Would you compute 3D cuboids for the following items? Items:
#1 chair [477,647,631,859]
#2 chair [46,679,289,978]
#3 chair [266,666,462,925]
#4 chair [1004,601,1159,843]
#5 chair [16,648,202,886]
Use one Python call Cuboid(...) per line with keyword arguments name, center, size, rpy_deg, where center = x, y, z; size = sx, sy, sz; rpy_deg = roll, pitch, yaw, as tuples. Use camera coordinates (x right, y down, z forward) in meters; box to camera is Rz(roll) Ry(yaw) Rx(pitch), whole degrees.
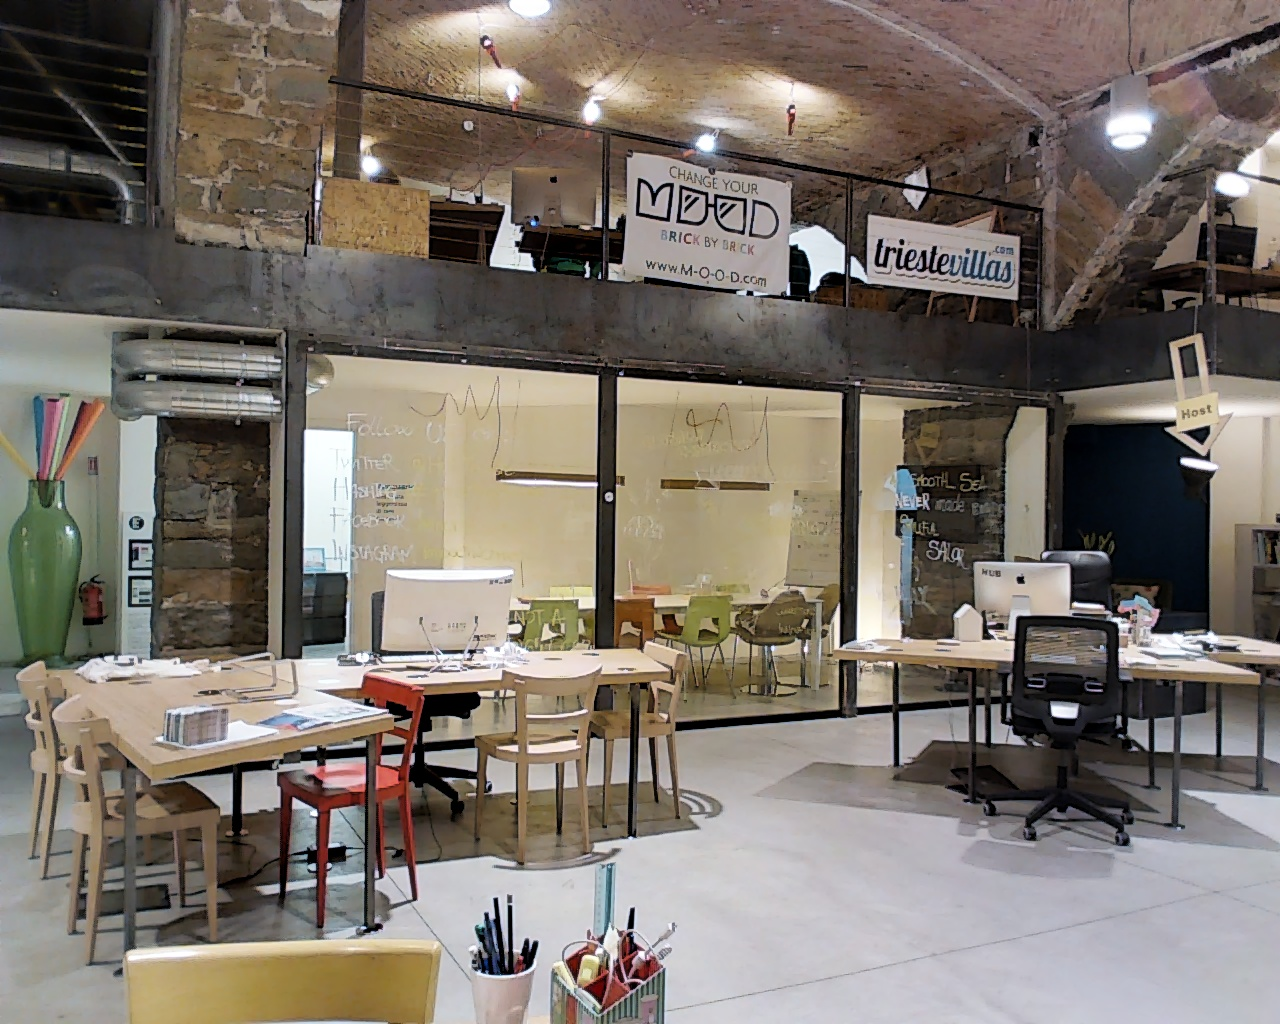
Cuboid(name="chair", center=(-0.390, 1.030, 4.750), size=(0.490, 0.780, 0.550), rpy_deg=(1, 0, -26))
Cuboid(name="chair", center=(-1.630, 1.030, 3.700), size=(0.630, 0.780, 0.590), rpy_deg=(1, 0, -37))
Cuboid(name="chair", center=(-1.050, 1.030, 4.080), size=(0.540, 0.790, 0.510), rpy_deg=(1, 0, -39))
Cuboid(name="chair", center=(2.109, 0.970, 5.210), size=(0.640, 1.010, 0.620), rpy_deg=(1, 0, 19))
Cuboid(name="chair", center=(-2.199, 1.010, 4.450), size=(0.580, 0.800, 0.560), rpy_deg=(1, 0, -37))
